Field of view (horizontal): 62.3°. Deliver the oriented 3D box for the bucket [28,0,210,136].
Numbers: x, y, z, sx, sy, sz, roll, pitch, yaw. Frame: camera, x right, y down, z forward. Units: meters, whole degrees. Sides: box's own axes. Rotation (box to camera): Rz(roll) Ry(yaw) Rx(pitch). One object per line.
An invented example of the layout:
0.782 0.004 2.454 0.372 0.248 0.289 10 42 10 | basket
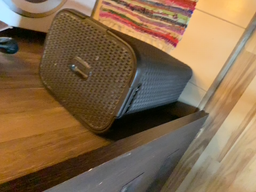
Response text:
0.000 -0.140 0.950 0.490 0.610 0.270 36 112 27 | bucket
